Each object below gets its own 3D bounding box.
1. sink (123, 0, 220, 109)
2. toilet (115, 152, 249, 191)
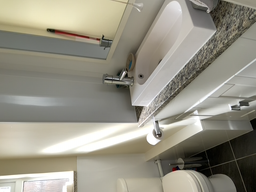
[{"bbox_3d":[0.150,-0.200,1.050,0.590,0.130,0.300,126,142,-54],"label":"sink"},{"bbox_3d":[0.380,0.760,1.680,0.670,0.770,0.420,126,142,-54],"label":"toilet"}]
